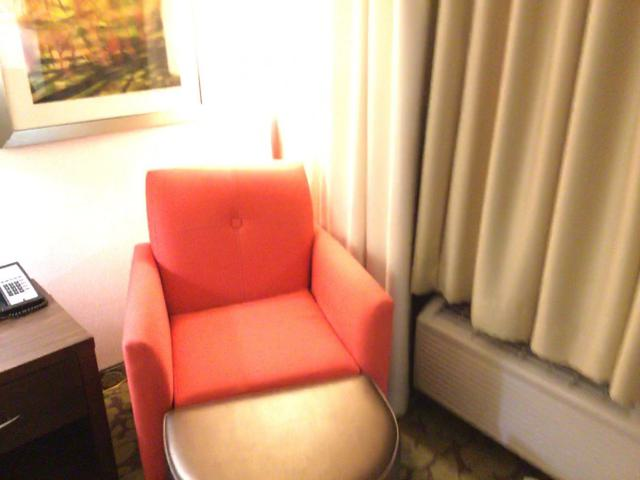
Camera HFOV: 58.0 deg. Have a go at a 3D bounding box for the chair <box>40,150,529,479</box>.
[{"bbox_3d":[-0.170,0.350,1.750,0.890,0.880,1.220,-7,25,-13],"label":"chair"}]

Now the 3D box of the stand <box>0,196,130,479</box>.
[{"bbox_3d":[-1.050,0.420,1.660,0.670,0.840,0.570,-22,32,-39],"label":"stand"}]

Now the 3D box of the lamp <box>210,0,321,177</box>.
[{"bbox_3d":[-0.190,-0.580,2.100,0.250,0.610,0.280,-22,32,-39],"label":"lamp"}]
